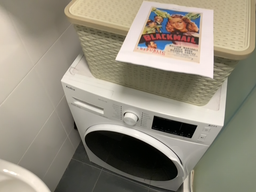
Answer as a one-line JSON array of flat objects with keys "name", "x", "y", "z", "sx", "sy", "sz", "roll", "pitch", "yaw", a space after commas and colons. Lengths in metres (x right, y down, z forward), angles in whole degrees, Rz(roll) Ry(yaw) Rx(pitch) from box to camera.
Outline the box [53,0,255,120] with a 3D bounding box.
[{"name": "box", "x": 0.120, "y": -0.220, "z": 0.770, "sx": 0.580, "sy": 0.230, "sz": 0.400, "roll": 16, "pitch": 55, "yaw": 11}]
